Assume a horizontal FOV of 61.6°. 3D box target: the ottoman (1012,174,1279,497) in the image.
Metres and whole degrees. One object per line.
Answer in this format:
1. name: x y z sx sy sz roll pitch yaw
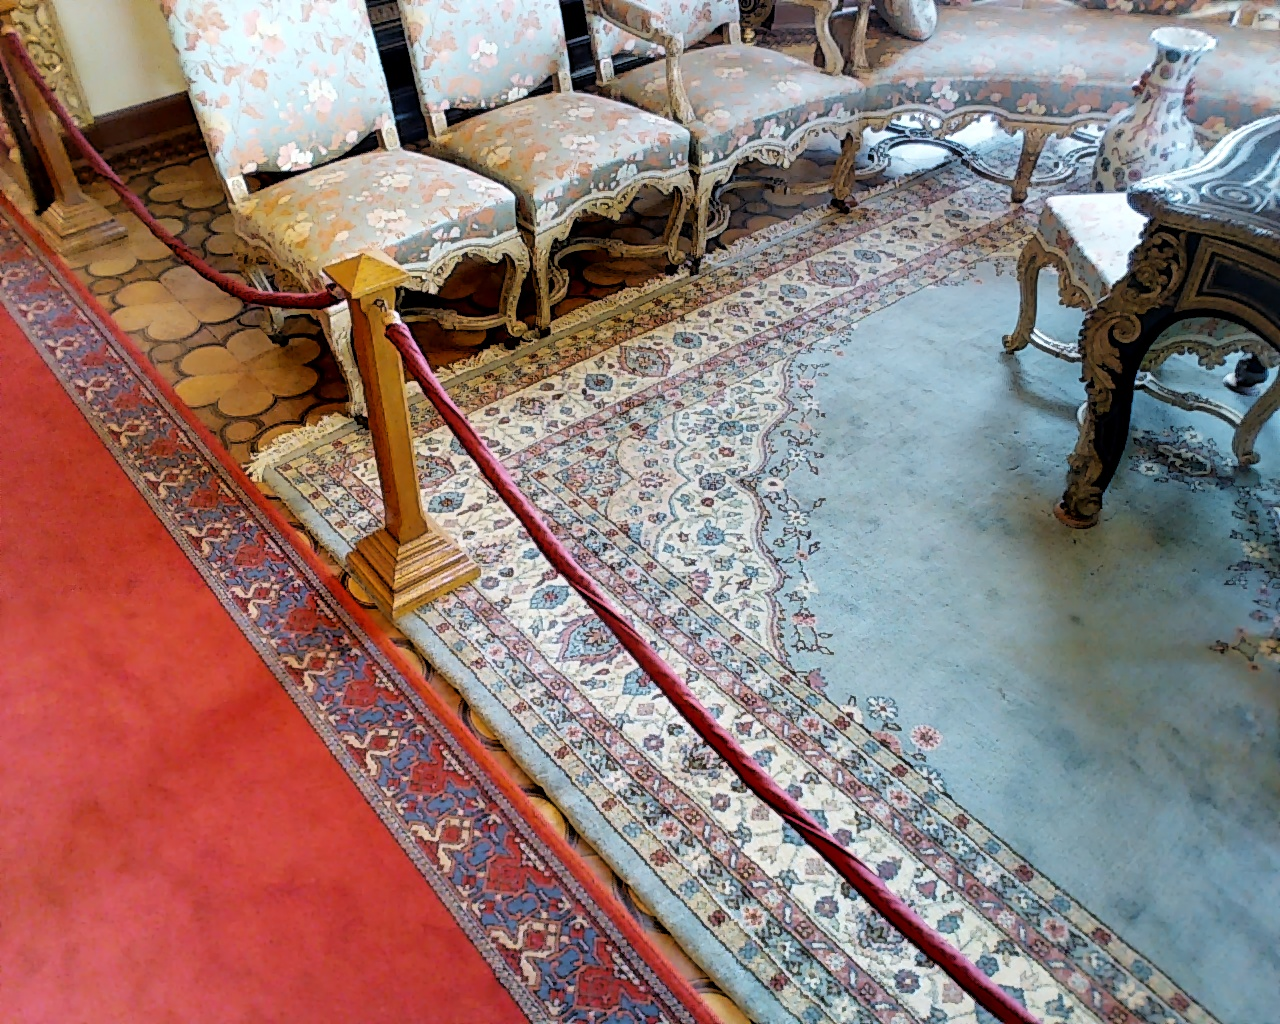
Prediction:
1. ottoman: 1.370 -0.460 2.740 0.530 0.540 0.640 -2 42 -2

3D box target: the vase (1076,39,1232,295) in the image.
1. vase: 1.570 -1.050 3.310 0.220 0.690 0.220 19 45 20
